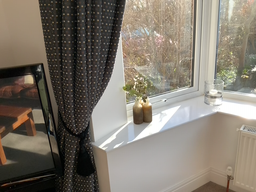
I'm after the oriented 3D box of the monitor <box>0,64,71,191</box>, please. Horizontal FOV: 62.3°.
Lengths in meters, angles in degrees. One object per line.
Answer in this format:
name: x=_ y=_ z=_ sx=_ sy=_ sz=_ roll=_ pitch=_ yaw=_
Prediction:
monitor: x=-1.010 y=0.330 z=1.170 sx=1.230 sy=0.850 sz=0.090 roll=-10 pitch=21 yaw=-16
